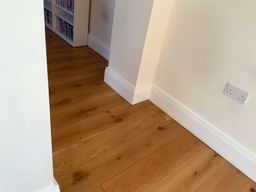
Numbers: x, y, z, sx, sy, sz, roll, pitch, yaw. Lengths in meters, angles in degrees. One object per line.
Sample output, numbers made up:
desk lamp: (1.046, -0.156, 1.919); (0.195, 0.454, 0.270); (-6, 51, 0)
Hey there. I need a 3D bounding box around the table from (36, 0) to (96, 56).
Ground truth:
table: (-0.880, -1.110, 2.810); (0.240, 0.650, 1.250); (-17, 44, -35)
